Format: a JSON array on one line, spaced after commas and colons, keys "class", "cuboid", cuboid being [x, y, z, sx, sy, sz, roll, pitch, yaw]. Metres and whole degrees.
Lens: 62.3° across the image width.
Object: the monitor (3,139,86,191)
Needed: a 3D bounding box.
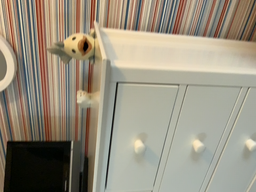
[{"class": "monitor", "cuboid": [-0.360, 0.390, 0.940, 0.050, 0.330, 0.380, 150, 121, -75]}]
